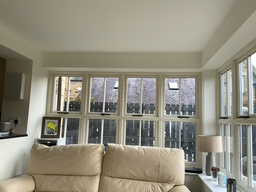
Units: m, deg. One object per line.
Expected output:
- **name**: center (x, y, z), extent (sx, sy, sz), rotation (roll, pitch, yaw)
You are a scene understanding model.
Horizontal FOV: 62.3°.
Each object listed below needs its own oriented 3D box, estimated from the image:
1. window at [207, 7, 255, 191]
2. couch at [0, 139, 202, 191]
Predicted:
- **window**: center (1.170, 0.140, 2.010), extent (0.220, 1.670, 2.140), rotation (1, -6, 5)
- **couch**: center (-0.360, 1.030, 2.280), extent (2.050, 0.950, 0.920), rotation (1, -6, 9)
